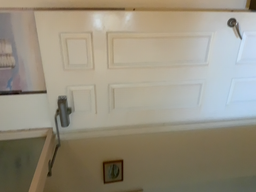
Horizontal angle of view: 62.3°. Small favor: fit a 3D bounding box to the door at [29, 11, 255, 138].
[{"bbox_3d":[0.440,-0.140,1.410,0.050,1.920,0.780,-112,20,-63],"label":"door"}]
